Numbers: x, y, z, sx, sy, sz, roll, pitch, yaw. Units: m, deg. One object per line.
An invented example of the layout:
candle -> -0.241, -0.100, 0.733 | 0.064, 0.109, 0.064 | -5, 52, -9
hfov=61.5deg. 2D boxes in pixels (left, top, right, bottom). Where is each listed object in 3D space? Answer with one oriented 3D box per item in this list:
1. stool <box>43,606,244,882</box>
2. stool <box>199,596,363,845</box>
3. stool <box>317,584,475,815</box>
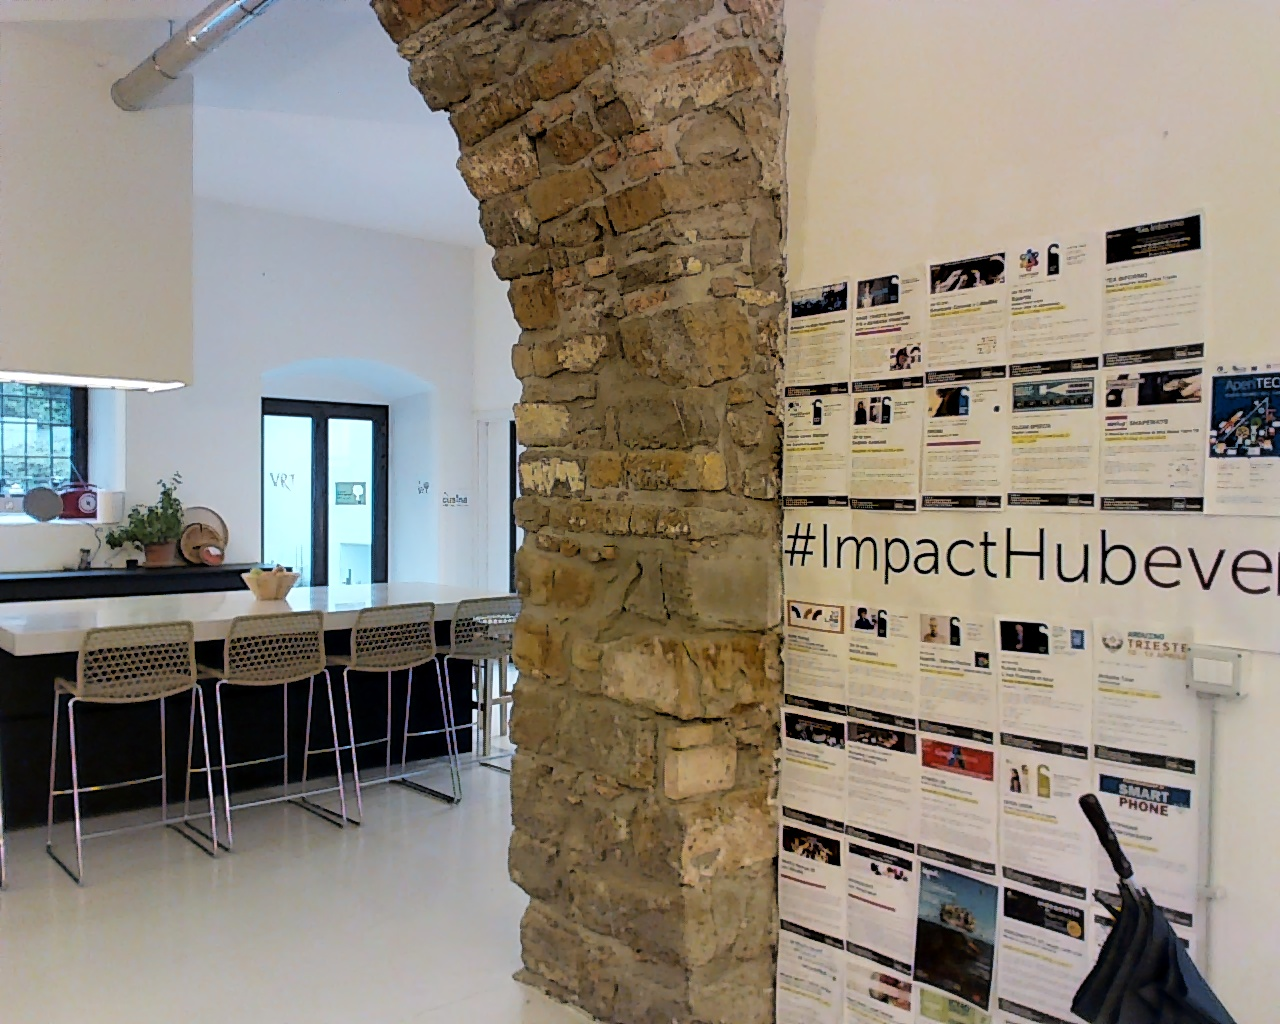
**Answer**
stool -> -2.009, 0.890, 4.360 | 0.580, 0.930, 0.570 | -1, 2, -44
stool -> -1.580, 0.880, 4.740 | 0.530, 0.950, 0.470 | -1, 2, -45
stool -> -1.160, 0.850, 5.110 | 0.530, 0.950, 0.540 | -1, 2, -44
